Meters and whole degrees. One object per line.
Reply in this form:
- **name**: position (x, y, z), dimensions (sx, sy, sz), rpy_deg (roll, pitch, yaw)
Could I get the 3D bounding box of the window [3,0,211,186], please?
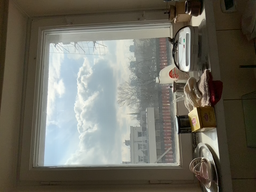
- **window**: position (-0.140, -0.040, 1.390), dimensions (0.170, 1.180, 1.150), rpy_deg (71, -162, -78)
